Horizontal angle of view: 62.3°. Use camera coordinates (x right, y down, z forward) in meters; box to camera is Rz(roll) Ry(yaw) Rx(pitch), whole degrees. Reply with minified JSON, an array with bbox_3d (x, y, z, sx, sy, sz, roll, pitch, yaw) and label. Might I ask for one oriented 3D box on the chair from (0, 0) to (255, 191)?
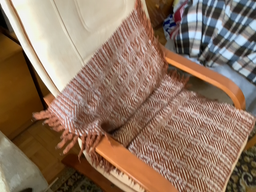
[{"bbox_3d":[0.100,0.010,0.890,0.840,0.960,0.680,31,53,20],"label":"chair"}]
